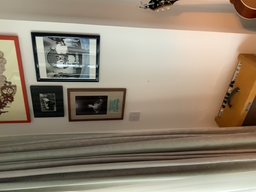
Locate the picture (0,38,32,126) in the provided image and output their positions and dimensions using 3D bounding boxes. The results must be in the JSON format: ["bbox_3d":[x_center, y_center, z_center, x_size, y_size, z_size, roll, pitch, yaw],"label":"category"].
[{"bbox_3d":[-0.880,-0.060,1.350,0.020,0.430,0.640,-109,22,-55],"label":"picture"}]

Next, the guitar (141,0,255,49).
[{"bbox_3d":[0.680,-0.630,1.400,0.360,1.100,0.480,131,130,-64],"label":"guitar"}]

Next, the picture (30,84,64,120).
[{"bbox_3d":[-0.560,0.050,1.490,0.020,0.200,0.290,-108,22,-55],"label":"picture"}]

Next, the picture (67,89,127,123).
[{"bbox_3d":[-0.230,0.080,1.580,0.020,0.420,0.290,-109,22,-55],"label":"picture"}]
